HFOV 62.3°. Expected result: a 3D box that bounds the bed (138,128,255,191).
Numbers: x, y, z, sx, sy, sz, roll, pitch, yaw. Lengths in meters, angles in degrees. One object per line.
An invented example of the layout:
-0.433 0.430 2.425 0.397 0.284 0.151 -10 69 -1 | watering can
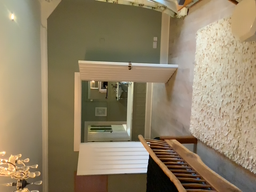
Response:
0.760 1.830 2.560 2.290 0.840 2.320 -140 52 -78 | bed
